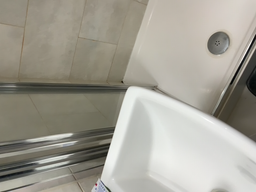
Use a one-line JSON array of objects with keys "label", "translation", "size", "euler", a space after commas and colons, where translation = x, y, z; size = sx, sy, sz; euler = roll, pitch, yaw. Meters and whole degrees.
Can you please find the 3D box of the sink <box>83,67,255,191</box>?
[{"label": "sink", "translation": [0.150, 0.250, 0.440], "size": [0.570, 0.150, 0.410], "euler": [40, 119, 40]}]
